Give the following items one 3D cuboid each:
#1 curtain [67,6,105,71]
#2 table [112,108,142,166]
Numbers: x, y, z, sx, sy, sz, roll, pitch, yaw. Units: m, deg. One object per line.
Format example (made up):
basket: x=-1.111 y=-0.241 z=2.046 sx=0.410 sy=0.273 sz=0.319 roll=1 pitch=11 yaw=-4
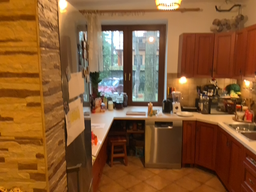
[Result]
curtain: x=-0.730 y=-0.970 z=3.730 sx=0.510 sy=1.030 sz=0.350 roll=4 pitch=10 yaw=24
table: x=0.000 y=0.690 z=3.770 sx=0.480 sy=0.850 sz=0.610 roll=1 pitch=9 yaw=3
